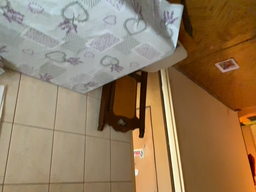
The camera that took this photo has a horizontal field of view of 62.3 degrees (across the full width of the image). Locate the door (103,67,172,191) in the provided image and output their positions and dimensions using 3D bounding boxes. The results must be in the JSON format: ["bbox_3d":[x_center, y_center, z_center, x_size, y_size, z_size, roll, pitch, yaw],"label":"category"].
[{"bbox_3d":[0.060,0.700,2.250,0.740,2.040,0.070,-13,155,24],"label":"door"}]

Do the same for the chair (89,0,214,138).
[{"bbox_3d":[0.120,-0.270,1.440,0.570,0.970,0.470,-20,152,36],"label":"chair"}]
